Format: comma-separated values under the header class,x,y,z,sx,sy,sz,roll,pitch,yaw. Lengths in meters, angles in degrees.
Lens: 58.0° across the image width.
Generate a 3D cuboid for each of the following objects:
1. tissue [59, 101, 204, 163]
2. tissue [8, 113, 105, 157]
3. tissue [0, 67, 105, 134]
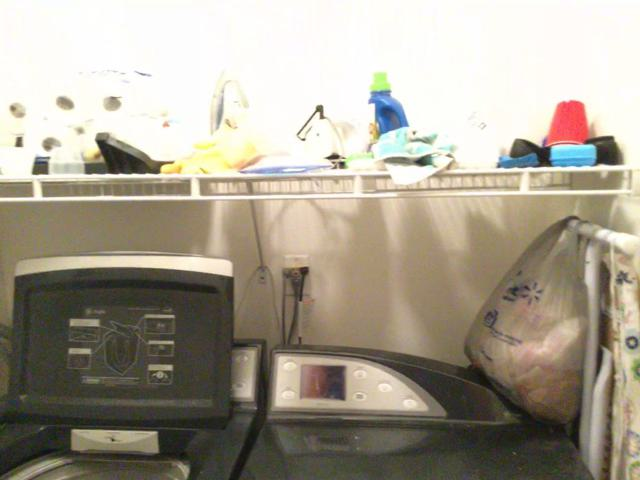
class,x,y,z,sx,sy,sz,roll,pitch,yaw
tissue,-0.430,-0.250,1.370,0.250,0.130,0.250,0,9,2
tissue,-0.630,-0.250,1.390,0.190,0.100,0.080,0,9,2
tissue,-0.680,-0.340,1.420,0.260,0.150,0.090,0,9,2
